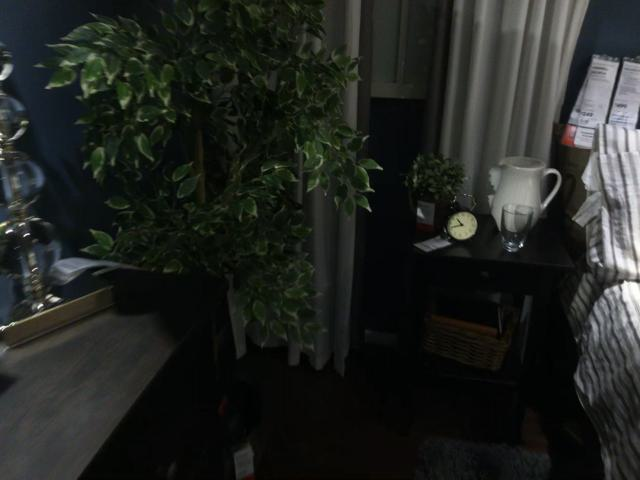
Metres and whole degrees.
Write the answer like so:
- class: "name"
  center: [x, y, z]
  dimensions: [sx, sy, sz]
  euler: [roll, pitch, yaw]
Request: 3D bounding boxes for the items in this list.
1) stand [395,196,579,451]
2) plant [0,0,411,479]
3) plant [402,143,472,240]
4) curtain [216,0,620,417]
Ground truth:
- class: "stand"
  center: [0.520, 0.250, 1.850]
  dimensions: [0.470, 0.660, 0.420]
  euler: [-1, 23, 15]
- class: "plant"
  center: [-0.190, -0.030, 1.460]
  dimensions: [0.680, 1.660, 0.780]
  euler: [-1, 23, 15]
- class: "plant"
  center: [0.360, -0.150, 1.750]
  dimensions: [0.190, 0.230, 0.210]
  euler: [-1, 23, 15]
- class: "curtain"
  center: [0.310, -0.280, 1.830]
  dimensions: [1.020, 1.700, 0.390]
  euler: [-1, 23, 15]
